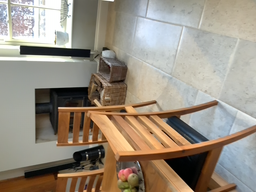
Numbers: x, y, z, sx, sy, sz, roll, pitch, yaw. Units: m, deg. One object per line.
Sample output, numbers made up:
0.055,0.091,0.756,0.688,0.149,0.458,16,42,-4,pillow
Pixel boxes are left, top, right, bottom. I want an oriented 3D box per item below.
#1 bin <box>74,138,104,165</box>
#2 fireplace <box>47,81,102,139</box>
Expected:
-0.730,1.030,3.960,0.270,0.450,0.320,40,127,51,bin
-1.020,0.230,3.960,0.530,0.820,0.850,42,128,50,fireplace
